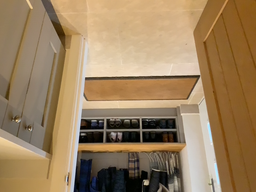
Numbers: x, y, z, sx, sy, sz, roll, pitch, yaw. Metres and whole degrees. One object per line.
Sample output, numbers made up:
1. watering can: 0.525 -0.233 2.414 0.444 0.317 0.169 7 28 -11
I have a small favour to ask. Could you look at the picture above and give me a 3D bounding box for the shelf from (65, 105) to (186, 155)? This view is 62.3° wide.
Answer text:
1. shelf: -0.030 0.480 2.910 1.470 0.540 0.510 -1 155 1
